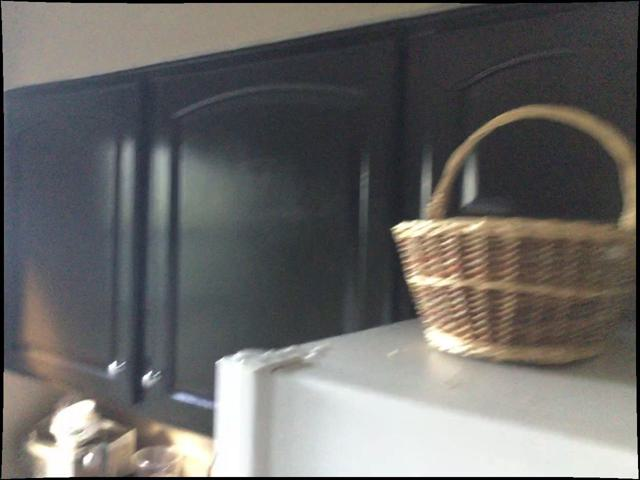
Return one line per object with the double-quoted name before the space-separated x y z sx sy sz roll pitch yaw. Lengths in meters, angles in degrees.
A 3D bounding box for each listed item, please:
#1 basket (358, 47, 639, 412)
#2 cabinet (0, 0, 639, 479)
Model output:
"basket" 0.219 -0.020 0.620 0.240 0.281 0.270 6 6 35
"cabinet" -0.020 0.000 1.080 2.047 0.842 0.480 6 6 35
